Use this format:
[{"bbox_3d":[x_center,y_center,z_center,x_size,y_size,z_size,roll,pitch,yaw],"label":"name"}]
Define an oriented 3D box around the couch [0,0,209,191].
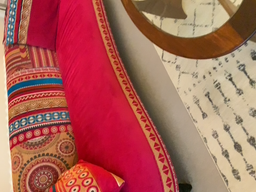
[{"bbox_3d":[-0.450,-0.080,1.690,1.030,0.770,2.470,-44,55,41],"label":"couch"}]
